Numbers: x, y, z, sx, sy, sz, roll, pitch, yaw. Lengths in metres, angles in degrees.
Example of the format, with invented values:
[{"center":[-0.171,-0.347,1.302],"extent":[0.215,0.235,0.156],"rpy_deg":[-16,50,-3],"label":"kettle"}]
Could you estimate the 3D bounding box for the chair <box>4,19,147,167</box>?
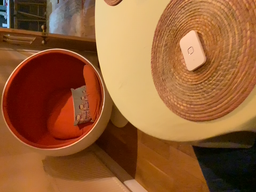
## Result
[{"center":[-0.620,0.030,2.220],"extent":[0.860,1.140,1.110],"rpy_deg":[-34,63,54],"label":"chair"}]
